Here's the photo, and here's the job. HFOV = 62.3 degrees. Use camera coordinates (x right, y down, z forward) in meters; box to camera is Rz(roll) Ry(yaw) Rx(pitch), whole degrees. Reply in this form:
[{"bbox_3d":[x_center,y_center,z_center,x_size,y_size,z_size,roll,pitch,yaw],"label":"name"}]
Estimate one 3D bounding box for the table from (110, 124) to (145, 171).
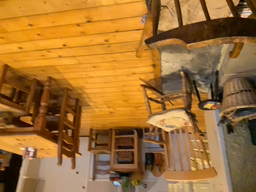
[{"bbox_3d":[0.010,1.100,4.450,0.600,0.860,0.560,-4,154,10],"label":"table"}]
